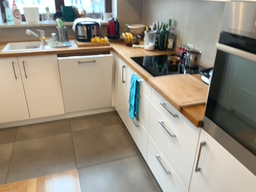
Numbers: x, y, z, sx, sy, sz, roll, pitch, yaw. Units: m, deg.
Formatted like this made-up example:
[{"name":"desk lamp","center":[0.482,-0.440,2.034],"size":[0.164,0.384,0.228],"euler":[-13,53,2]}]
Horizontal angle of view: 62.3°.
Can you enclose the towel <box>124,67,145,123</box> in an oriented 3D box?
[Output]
[{"name":"towel","center":[0.050,-0.010,2.050],"size":[0.100,0.470,0.250],"euler":[-8,28,-19]}]
